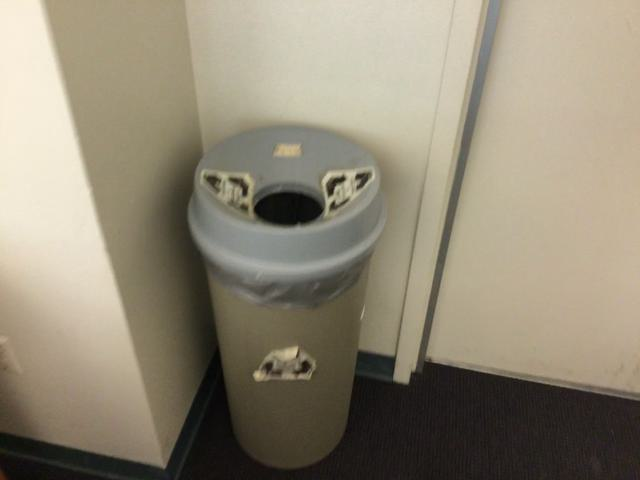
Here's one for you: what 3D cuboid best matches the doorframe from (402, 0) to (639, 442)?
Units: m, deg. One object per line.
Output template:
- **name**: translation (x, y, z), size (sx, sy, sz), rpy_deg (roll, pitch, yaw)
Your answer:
- **doorframe**: translation (0.740, 0.010, 1.340), size (0.940, 1.230, 0.150), rpy_deg (8, 38, 7)
